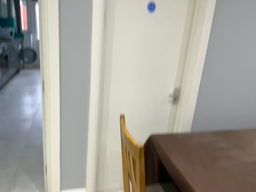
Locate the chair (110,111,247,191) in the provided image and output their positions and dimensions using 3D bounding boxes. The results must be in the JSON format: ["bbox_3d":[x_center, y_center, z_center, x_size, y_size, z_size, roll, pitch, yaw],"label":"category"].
[{"bbox_3d":[0.210,0.650,1.320,0.530,0.980,0.490,-1,19,-18],"label":"chair"}]
